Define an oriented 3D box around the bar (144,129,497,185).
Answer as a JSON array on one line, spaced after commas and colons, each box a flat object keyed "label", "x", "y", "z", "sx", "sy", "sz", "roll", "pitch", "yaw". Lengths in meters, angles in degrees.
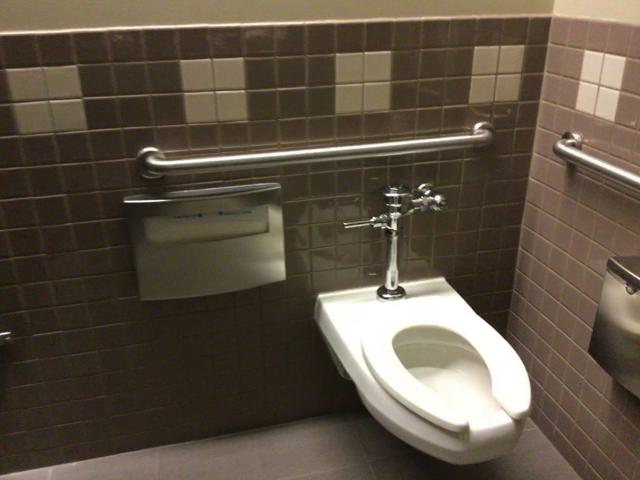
[{"label": "bar", "x": 0.020, "y": -0.220, "z": 1.510, "sx": 0.910, "sy": 0.120, "sz": 0.080, "roll": -2, "pitch": 22, "yaw": -13}]
